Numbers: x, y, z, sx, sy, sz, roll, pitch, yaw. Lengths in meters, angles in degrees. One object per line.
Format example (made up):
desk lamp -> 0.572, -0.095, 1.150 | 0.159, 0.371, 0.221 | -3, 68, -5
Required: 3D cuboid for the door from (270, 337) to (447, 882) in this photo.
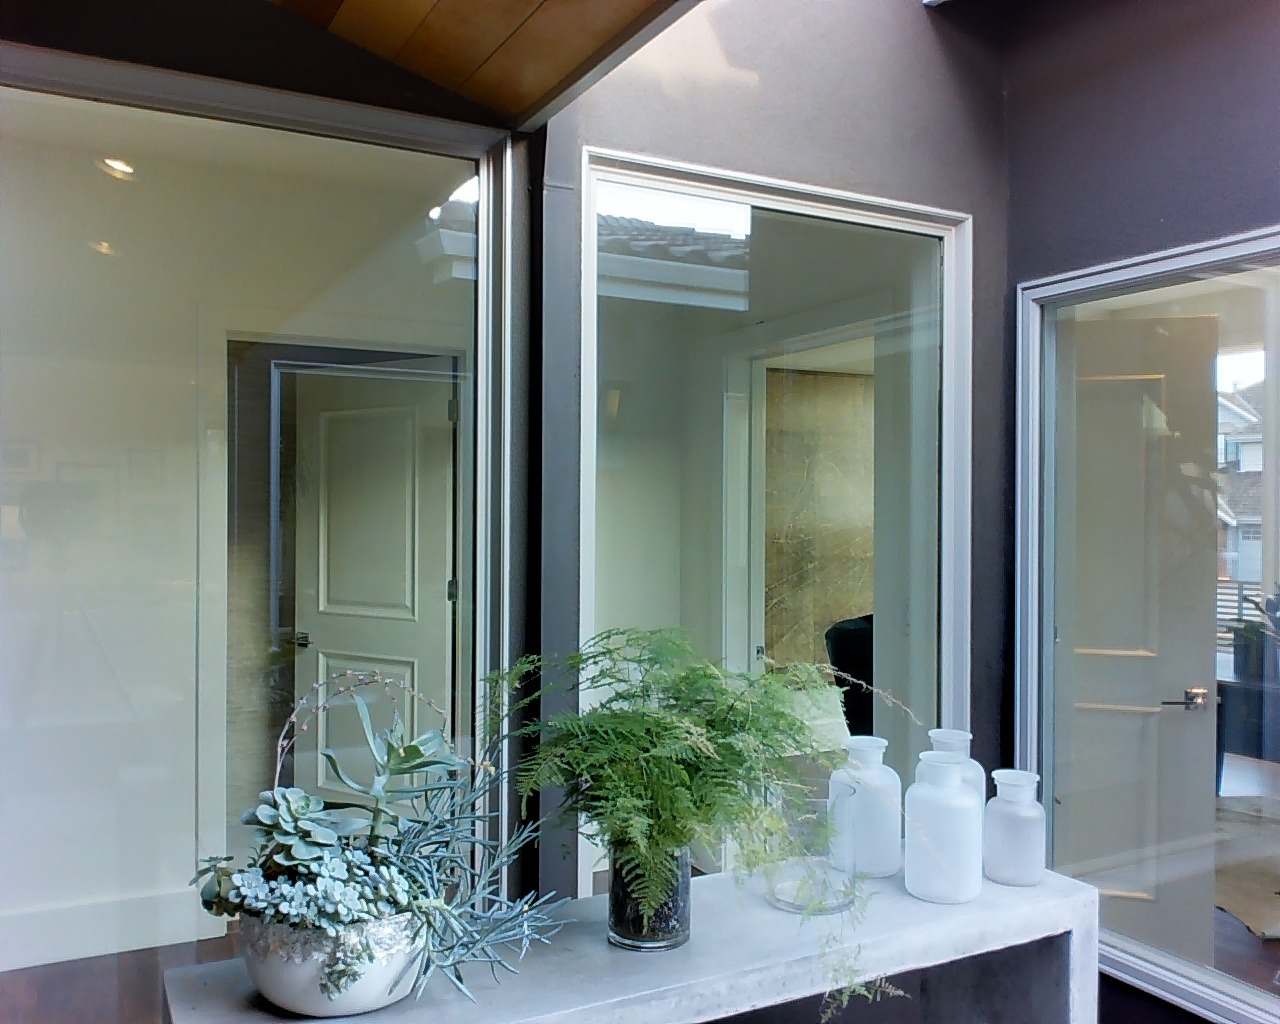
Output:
door -> -1.230, 0.400, 4.640 | 0.900, 2.240, 0.080 | 0, 0, 25
